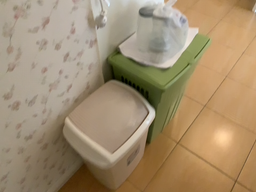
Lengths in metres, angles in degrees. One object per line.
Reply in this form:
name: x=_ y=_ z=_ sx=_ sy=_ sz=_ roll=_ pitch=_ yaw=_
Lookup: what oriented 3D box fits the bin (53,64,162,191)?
bin: x=-0.070 y=0.180 z=0.980 sx=0.260 sy=0.510 sz=0.310 roll=34 pitch=58 yaw=25
